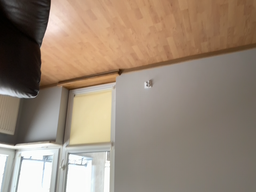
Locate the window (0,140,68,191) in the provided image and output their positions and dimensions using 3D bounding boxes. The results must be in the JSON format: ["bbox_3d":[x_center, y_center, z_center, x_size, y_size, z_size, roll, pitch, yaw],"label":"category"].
[{"bbox_3d":[-1.350,1.440,2.830,0.960,1.570,0.250,-9,157,21],"label":"window"}]
